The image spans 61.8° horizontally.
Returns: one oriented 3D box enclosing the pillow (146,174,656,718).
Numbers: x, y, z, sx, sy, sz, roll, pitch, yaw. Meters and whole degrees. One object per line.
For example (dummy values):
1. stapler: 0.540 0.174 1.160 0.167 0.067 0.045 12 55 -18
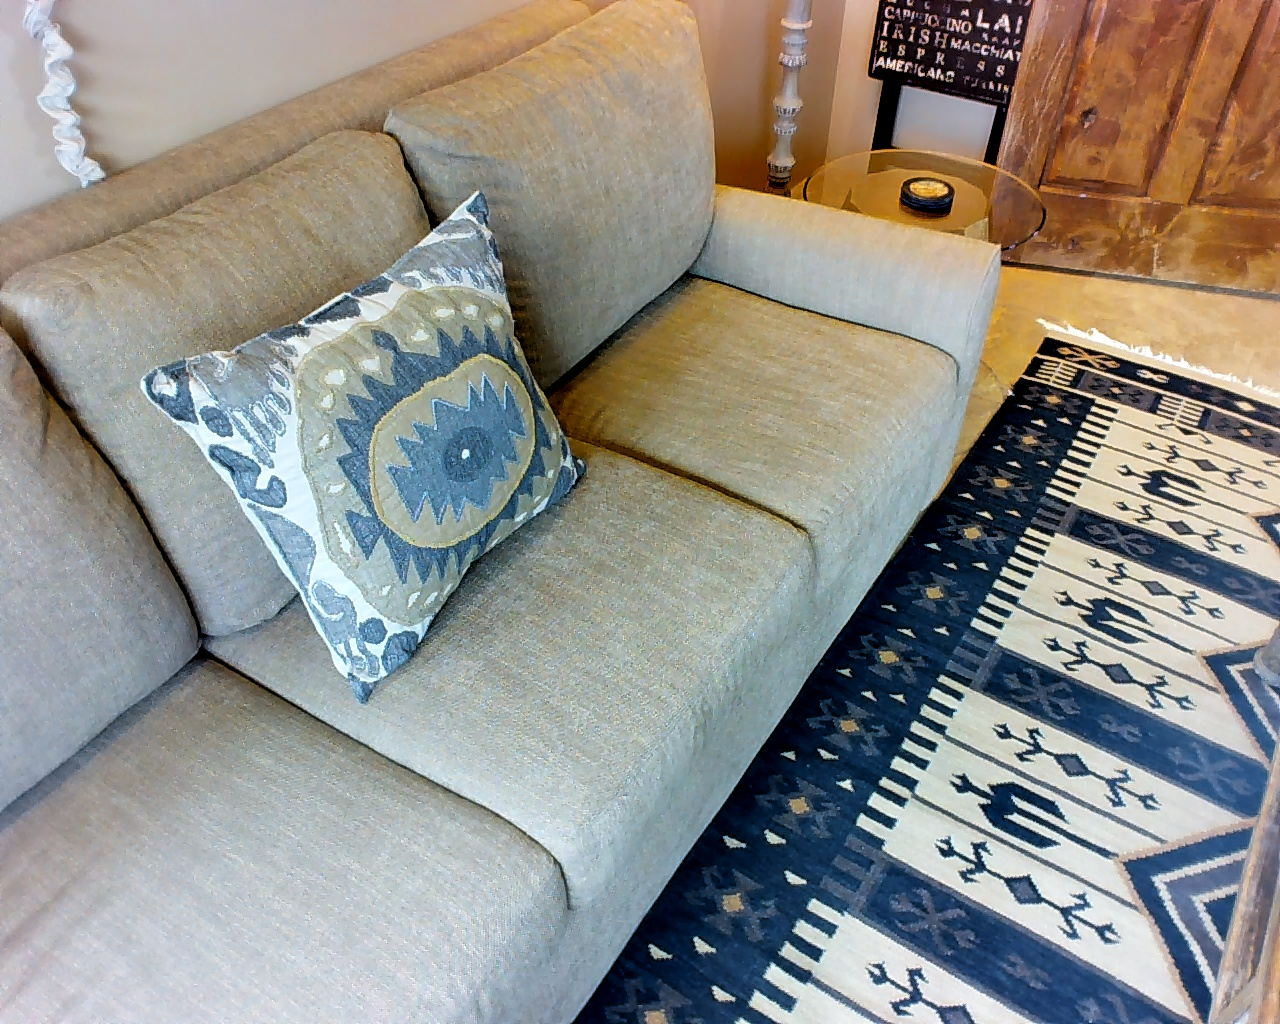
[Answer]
1. pillow: -0.280 -0.090 1.310 0.230 0.410 0.540 38 51 11
